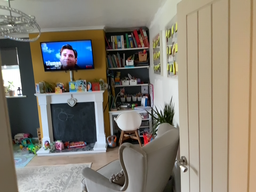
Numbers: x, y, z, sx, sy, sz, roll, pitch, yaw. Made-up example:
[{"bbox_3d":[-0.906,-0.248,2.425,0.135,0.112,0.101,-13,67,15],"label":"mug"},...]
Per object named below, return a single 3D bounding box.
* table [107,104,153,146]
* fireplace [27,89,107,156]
[{"bbox_3d":[0.040,0.610,4.630,0.930,0.730,0.530,-3,8,-1],"label":"table"},{"bbox_3d":[-1.140,0.500,4.140,1.350,1.190,0.390,-2,8,0],"label":"fireplace"}]
